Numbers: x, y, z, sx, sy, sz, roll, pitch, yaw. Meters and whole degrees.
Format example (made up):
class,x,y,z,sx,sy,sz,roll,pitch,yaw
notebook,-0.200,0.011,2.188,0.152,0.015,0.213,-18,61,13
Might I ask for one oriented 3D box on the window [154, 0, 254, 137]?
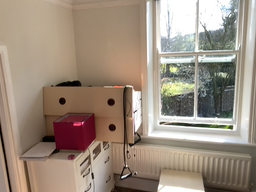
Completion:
class,x,y,z,sx,sy,sz,roll,pitch,yaw
window,0.840,-0.340,2.550,0.980,1.510,0.430,2,13,17

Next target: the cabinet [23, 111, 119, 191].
class,x,y,z,sx,sy,sz,roll,pitch,yaw
cabinet,-0.480,0.740,2.170,0.510,0.930,0.890,1,13,14
